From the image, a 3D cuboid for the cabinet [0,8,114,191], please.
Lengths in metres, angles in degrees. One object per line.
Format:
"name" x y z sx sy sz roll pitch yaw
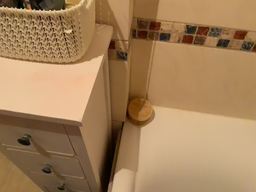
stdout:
"cabinet" -0.220 0.210 0.810 0.270 1.000 0.250 8 53 4
